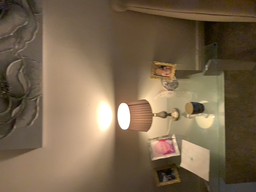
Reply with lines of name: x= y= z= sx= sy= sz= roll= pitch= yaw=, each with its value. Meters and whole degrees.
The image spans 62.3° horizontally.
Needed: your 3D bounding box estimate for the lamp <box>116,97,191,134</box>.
lamp: x=0.200 y=0.140 z=1.690 sx=0.280 sy=0.520 sz=0.260 roll=180 pitch=91 yaw=-69
